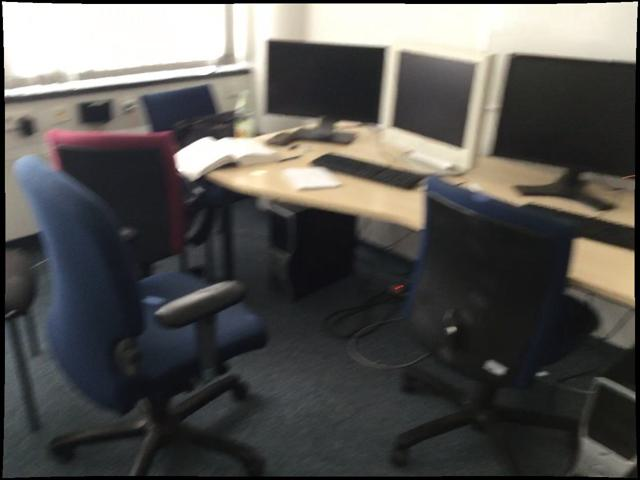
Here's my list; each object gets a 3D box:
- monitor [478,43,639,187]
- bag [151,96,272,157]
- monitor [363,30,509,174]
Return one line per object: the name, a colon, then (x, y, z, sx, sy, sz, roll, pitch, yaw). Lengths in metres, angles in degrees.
monitor: (0.879, -0.430, 1.940, 0.580, 0.360, 0.240, 17, 30, 28)
bag: (-0.529, -0.571, 2.850, 0.450, 0.150, 0.370, -23, 35, -40)
monitor: (0.420, -0.551, 2.240, 0.160, 0.430, 0.540, -18, 32, -34)
